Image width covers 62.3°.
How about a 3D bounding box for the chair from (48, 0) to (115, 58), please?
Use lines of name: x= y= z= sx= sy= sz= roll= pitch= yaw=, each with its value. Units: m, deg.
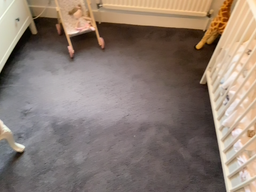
chair: x=-0.410 y=-0.710 z=1.840 sx=0.410 sy=0.430 sz=0.520 roll=-21 pitch=58 yaw=-18
